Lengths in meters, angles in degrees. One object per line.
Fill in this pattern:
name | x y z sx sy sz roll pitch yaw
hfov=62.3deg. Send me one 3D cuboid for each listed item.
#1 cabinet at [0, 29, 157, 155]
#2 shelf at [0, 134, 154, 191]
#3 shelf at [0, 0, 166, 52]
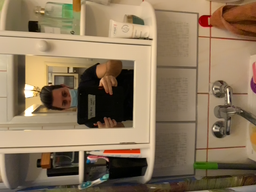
cabinet | -0.230 -0.010 0.590 0.170 0.590 0.290 -174 85 -78
shelf | -0.230 0.200 0.600 0.160 0.580 0.140 -174 85 -78
shelf | -0.210 -0.230 0.590 0.170 0.600 0.150 -174 85 -78
